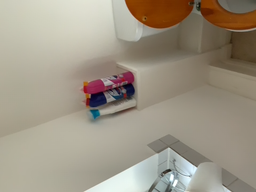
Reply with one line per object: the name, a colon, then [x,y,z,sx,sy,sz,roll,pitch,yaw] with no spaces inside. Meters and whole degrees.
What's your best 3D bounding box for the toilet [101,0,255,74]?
toilet: [0.400,-0.480,1.000,0.660,0.840,0.440,28,129,51]
